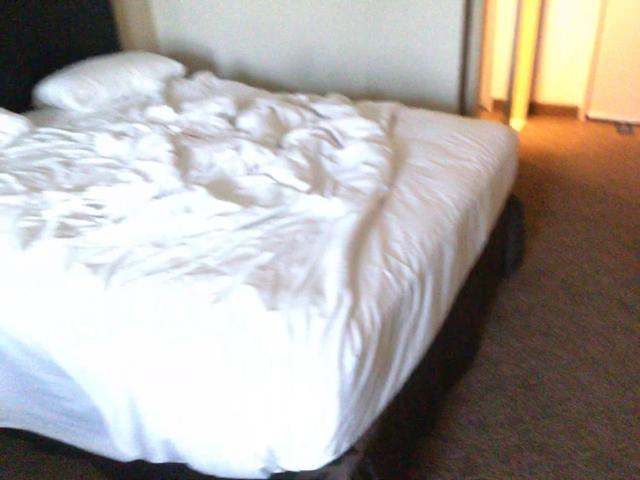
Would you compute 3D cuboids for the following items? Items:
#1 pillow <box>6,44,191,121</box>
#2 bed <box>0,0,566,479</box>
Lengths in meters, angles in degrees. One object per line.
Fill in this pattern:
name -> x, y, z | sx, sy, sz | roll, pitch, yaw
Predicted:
pillow -> -0.960, -0.720, 2.570 | 0.480, 0.170, 0.580 | 12, 32, 26
bed -> -0.520, -0.360, 1.890 | 2.150, 1.500, 1.750 | 12, 32, 26
